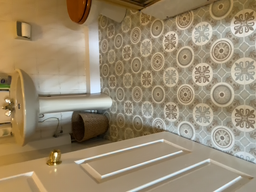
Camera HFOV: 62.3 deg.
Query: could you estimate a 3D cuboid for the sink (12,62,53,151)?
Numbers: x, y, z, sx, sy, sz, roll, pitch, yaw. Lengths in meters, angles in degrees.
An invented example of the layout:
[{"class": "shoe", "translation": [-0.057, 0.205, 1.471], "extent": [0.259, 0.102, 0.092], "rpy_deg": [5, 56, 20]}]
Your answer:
[{"class": "sink", "translation": [-0.800, 0.070, 1.760], "extent": [0.390, 0.210, 0.650], "rpy_deg": [1, 93, 52]}]
